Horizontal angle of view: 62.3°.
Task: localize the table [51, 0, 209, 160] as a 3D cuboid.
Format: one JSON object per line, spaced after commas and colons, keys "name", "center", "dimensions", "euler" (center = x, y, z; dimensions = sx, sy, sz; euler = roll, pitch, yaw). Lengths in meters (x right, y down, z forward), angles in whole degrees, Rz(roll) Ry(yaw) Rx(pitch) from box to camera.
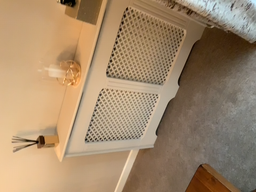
{"name": "table", "center": [0.040, -0.110, 1.590], "dimensions": [0.120, 0.940, 1.230], "euler": [38, 116, 47]}
